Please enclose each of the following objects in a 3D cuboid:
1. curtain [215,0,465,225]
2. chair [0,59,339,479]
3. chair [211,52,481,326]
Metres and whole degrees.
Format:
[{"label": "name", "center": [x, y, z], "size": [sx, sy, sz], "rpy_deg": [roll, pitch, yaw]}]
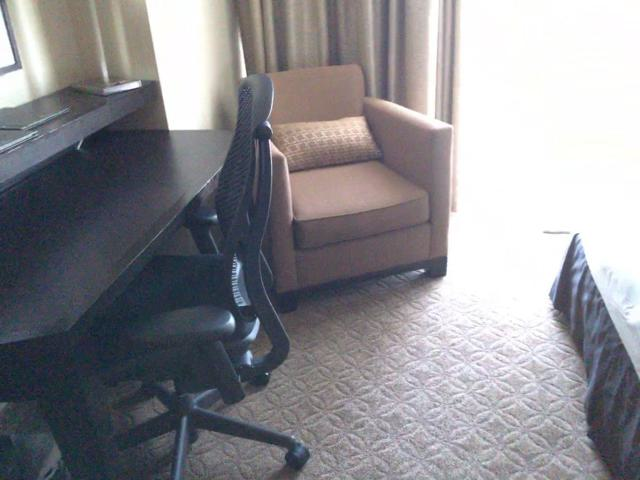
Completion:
[{"label": "curtain", "center": [0.100, -1.030, 2.790], "size": [1.150, 1.970, 0.240], "rpy_deg": [1, 25, 11]}, {"label": "chair", "center": [-0.410, 0.140, 1.590], "size": [0.710, 1.090, 0.690], "rpy_deg": [-10, 25, -12]}, {"label": "chair", "center": [0.060, -0.330, 2.710], "size": [0.890, 0.880, 1.050], "rpy_deg": [-11, 25, -14]}]
